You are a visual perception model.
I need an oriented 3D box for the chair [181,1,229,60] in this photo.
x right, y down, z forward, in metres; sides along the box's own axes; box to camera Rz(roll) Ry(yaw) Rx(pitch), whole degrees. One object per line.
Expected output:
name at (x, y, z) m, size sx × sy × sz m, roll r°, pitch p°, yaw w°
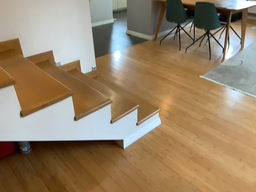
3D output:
chair at (1.260, -1.100, 3.520) m, size 0.510 × 0.790 × 0.430 m, roll -29°, pitch 42°, yaw -36°

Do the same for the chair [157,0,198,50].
chair at (0.890, -1.330, 3.880) m, size 0.510 × 0.790 × 0.420 m, roll -29°, pitch 42°, yaw -36°
